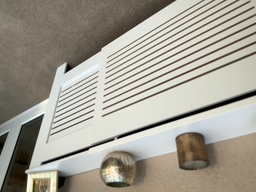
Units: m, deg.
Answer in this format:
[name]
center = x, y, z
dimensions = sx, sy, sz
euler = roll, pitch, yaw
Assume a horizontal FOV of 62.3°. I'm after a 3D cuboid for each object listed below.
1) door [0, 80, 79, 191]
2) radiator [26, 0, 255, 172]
[door]
center = -1.130, 1.040, 1.690
dimensions = 1.550, 2.180, 0.140
euler = -22, 140, 28
[radiator]
center = 0.160, -0.170, 0.980
dimensions = 1.680, 0.710, 0.120
euler = -23, 139, 29
